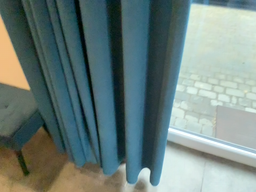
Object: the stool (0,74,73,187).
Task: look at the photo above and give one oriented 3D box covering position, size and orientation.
[{"bbox_3d":[-0.960,0.160,1.500,0.960,0.450,0.440,15,43,17],"label":"stool"}]
